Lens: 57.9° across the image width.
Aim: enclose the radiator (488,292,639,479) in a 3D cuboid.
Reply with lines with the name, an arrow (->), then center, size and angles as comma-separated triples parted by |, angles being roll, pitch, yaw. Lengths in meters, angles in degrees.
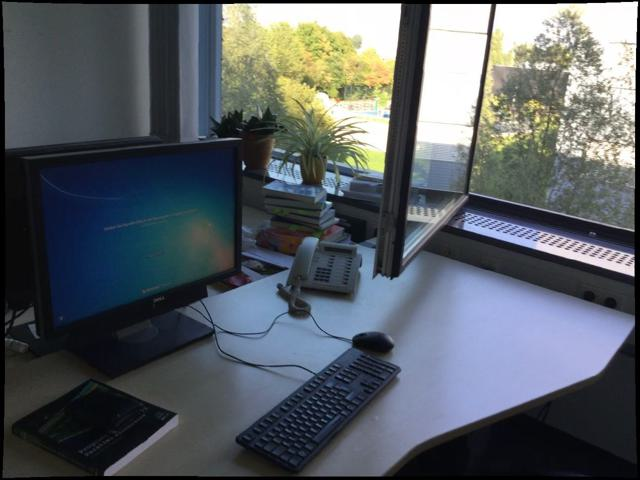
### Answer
radiator -> 1.079, 0.581, 2.110 | 0.780, 0.500, 0.280 | 18, 26, 33
